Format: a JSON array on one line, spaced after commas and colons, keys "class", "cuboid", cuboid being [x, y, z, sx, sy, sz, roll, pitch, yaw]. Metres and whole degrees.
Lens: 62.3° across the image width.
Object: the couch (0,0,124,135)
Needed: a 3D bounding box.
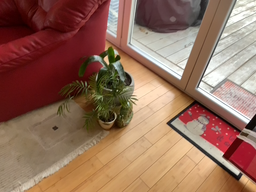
[{"class": "couch", "cuboid": [-0.770, -0.500, 1.590, 1.050, 0.890, 0.980, -24, 53, -29]}]
